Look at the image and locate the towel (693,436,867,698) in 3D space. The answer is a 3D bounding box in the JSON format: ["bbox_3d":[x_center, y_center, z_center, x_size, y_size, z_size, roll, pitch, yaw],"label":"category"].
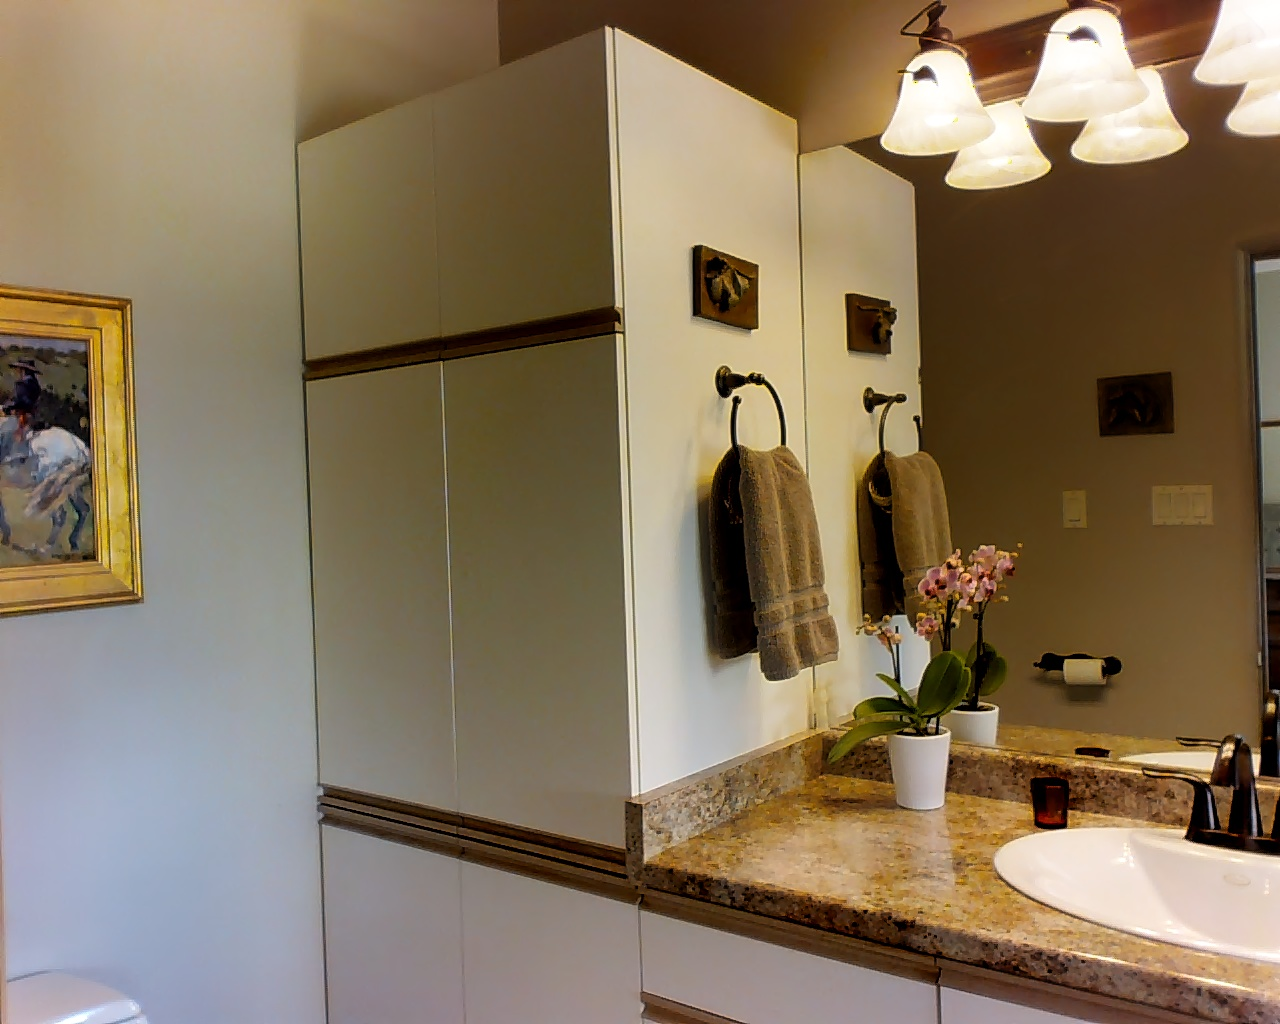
[{"bbox_3d":[0.230,0.080,1.740,0.160,0.390,0.240,-2,1,40],"label":"towel"}]
